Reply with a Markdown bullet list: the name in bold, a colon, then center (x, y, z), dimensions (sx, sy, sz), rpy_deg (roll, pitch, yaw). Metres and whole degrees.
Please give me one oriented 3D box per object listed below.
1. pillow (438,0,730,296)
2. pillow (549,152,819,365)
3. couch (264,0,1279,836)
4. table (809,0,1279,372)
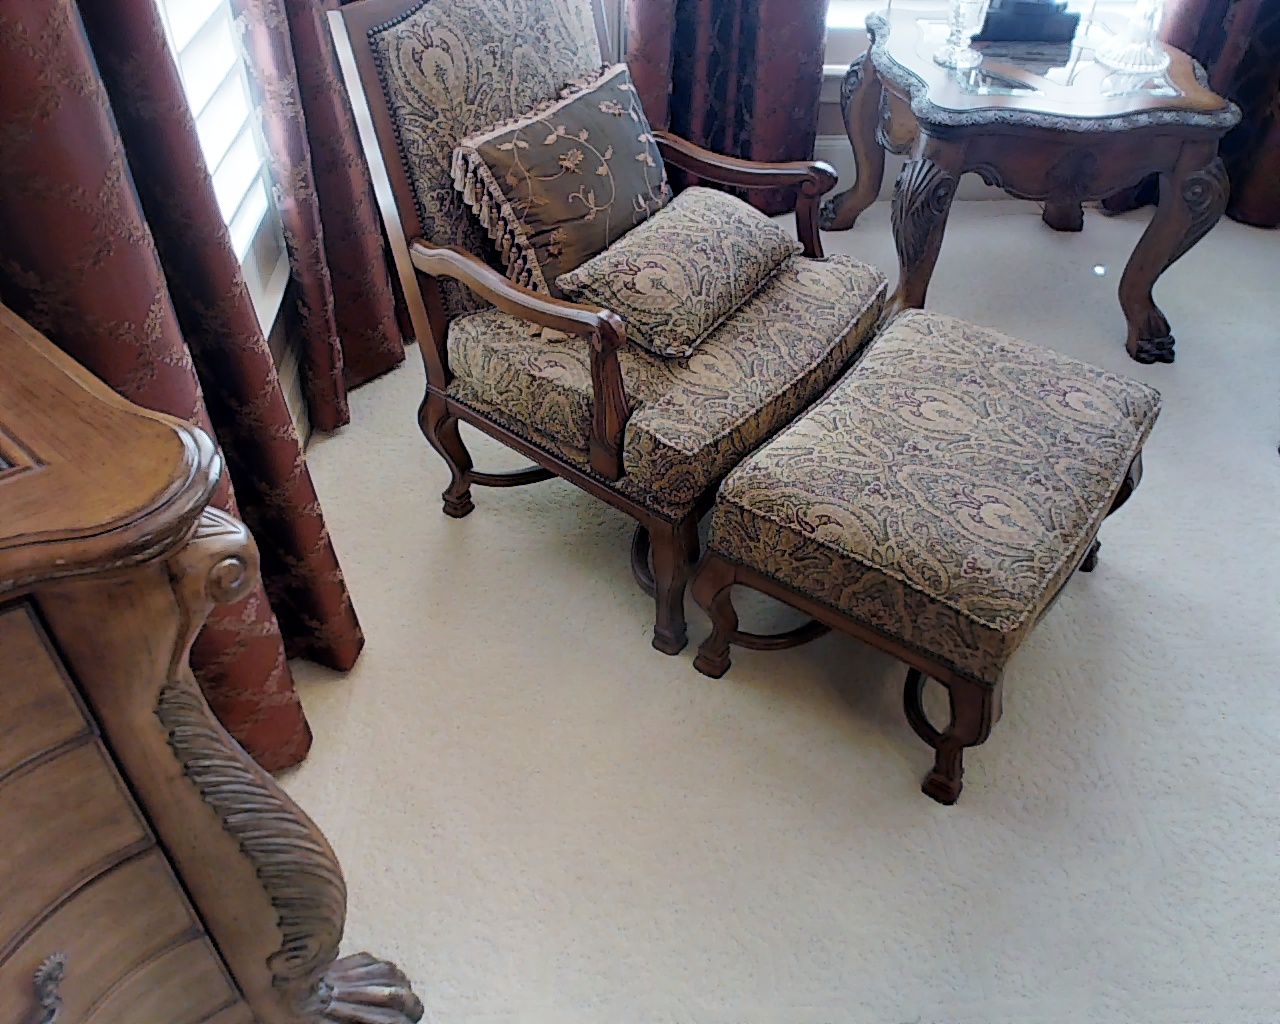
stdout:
- **pillow**: center (-0.070, -0.650, 1.990), dimensions (0.150, 0.310, 0.650), rpy_deg (30, 9, 22)
- **pillow**: center (0.090, -0.480, 1.960), dimensions (0.270, 0.130, 0.480), rpy_deg (25, 47, 24)
- **couch**: center (0.220, -0.380, 1.930), dimensions (1.390, 1.080, 0.840), rpy_deg (27, 48, 25)
- **table**: center (0.980, -0.910, 2.830), dimensions (0.850, 0.670, 0.890), rpy_deg (-1, 42, -2)
